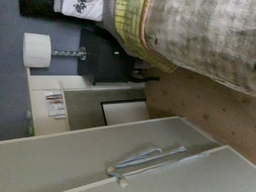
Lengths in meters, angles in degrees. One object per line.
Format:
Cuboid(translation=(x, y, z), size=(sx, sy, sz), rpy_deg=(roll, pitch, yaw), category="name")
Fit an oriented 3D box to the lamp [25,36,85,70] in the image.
Cuboid(translation=(-0.600, -0.350, 1.760), size=(0.180, 0.430, 0.230), rpy_deg=(35, 123, 50), category="lamp")
